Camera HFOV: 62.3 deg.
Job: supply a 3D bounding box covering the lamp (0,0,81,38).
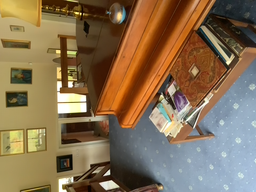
[{"bbox_3d":[-0.960,-1.010,2.210,0.480,0.800,0.580,-11,81,63],"label":"lamp"}]
